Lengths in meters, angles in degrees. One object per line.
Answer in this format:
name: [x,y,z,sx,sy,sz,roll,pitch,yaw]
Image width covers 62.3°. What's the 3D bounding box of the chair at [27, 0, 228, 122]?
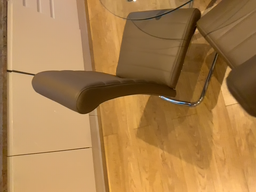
chair: [0.100,-0.200,1.180,0.440,1.020,0.570,19,97,41]
